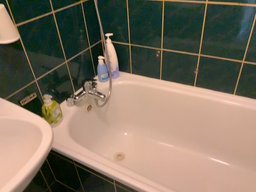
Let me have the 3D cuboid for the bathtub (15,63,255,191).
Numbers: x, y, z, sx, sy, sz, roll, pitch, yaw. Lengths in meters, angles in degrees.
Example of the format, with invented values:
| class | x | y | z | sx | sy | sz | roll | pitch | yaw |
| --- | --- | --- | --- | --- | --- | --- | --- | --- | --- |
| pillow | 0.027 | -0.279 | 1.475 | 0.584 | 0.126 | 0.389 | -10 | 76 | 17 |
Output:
| class | x | y | z | sx | sy | sz | roll | pitch | yaw |
| --- | --- | --- | --- | --- | --- | --- | --- | --- | --- |
| bathtub | 0.420 | 0.420 | 1.010 | 1.700 | 0.590 | 0.710 | 16 | 40 | 25 |
